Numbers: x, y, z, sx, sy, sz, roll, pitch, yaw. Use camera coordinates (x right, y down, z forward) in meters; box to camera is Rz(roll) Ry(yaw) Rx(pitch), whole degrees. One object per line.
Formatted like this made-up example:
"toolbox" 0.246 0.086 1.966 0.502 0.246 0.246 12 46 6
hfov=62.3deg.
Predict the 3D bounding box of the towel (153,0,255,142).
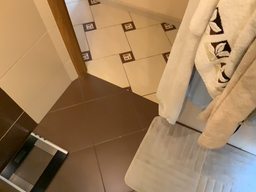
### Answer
"towel" 0.330 -0.250 0.530 0.390 1.240 0.210 22 63 14
